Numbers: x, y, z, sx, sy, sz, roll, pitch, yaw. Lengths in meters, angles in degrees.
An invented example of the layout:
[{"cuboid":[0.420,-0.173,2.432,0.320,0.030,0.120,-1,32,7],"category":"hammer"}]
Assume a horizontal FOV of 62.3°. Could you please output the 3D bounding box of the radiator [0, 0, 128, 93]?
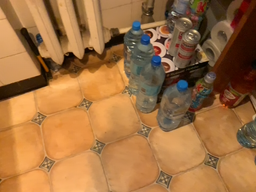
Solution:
[{"cuboid":[-0.210,-0.320,0.720,0.380,0.720,0.190,-18,64,-10],"category":"radiator"}]
